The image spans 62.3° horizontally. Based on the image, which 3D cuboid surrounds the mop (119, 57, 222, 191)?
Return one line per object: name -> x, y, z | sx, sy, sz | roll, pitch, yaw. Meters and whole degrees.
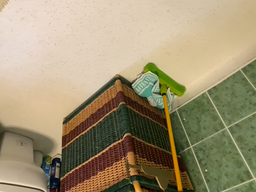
mop -> 0.200, 0.330, 0.860 | 0.230, 1.180, 0.240 | -33, 134, 22
